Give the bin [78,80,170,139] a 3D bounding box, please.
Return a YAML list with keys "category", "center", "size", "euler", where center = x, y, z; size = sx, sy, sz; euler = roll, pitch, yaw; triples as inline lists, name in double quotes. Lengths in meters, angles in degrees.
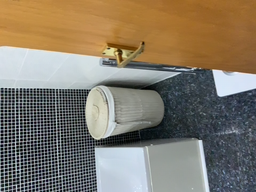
- category: "bin"
  center: [-0.050, 0.130, 1.860]
  size: [0.480, 0.610, 0.400]
  euler: [-20, 73, 55]
